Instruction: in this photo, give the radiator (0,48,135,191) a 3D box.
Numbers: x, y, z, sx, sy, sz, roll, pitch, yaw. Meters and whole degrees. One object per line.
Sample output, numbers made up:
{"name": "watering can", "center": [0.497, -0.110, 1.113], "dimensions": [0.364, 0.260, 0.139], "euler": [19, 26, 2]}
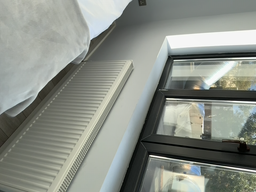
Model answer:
{"name": "radiator", "center": [-0.410, 0.050, 1.490], "dimensions": [1.260, 0.580, 0.110], "euler": [-65, 149, -43]}
